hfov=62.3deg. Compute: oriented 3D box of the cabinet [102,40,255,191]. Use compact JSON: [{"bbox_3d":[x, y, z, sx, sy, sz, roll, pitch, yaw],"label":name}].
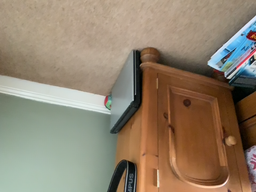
[{"bbox_3d":[0.190,0.280,0.990,0.470,0.820,0.510,13,149,-16],"label":"cabinet"}]
